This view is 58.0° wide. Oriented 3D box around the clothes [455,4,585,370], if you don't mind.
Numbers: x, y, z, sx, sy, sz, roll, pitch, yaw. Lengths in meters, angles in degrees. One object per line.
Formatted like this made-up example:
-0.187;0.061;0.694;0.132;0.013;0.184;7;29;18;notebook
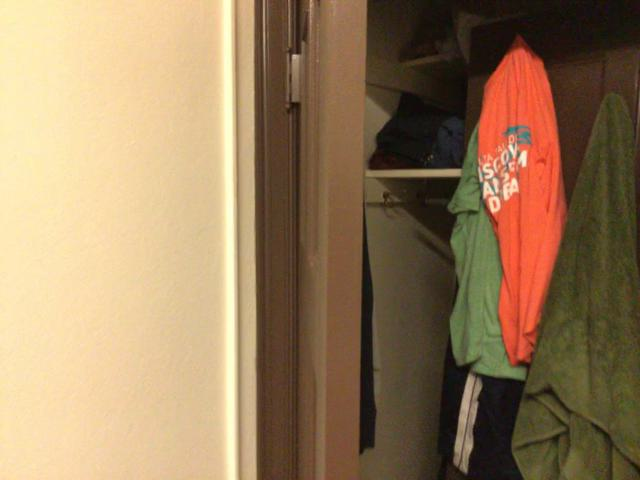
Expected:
0.450;-0.110;1.310;0.220;0.740;0.180;4;7;35;clothes

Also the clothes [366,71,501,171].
0.350;-0.340;1.750;0.280;0.250;0.360;3;7;34;clothes

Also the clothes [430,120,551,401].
0.390;0.040;1.340;0.230;0.600;0.120;4;7;35;clothes

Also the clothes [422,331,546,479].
0.400;0.460;1.430;0.270;0.420;0.100;3;7;34;clothes
